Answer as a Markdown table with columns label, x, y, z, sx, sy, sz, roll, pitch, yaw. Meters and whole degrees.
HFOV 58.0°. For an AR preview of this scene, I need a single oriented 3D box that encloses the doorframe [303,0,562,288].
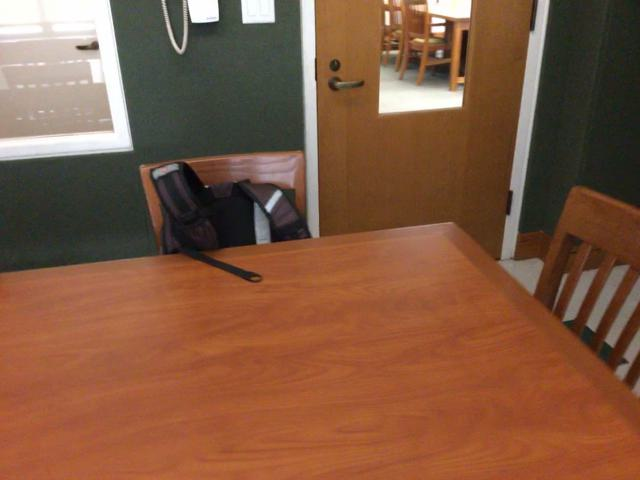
| label | x | y | z | sx | sy | sz | roll | pitch | yaw |
| --- | --- | --- | --- | --- | --- | --- | --- | --- | --- |
| doorframe | 0.450 | -0.750 | 2.270 | 1.020 | 1.990 | 0.050 | -7 | 26 | -10 |

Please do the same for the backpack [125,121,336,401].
| label | x | y | z | sx | sy | sz | roll | pitch | yaw |
| --- | --- | --- | --- | --- | --- | --- | --- | --- | --- |
| backpack | -0.210 | 0.030 | 1.400 | 0.380 | 0.520 | 0.330 | -12 | 28 | -20 |
